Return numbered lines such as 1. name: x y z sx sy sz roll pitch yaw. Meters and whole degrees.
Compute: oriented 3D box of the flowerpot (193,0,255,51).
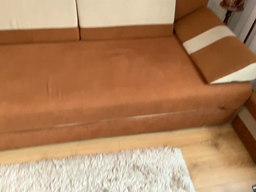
1. flowerpot: 0.830 -0.860 1.570 0.290 1.010 0.330 -6 49 -11
